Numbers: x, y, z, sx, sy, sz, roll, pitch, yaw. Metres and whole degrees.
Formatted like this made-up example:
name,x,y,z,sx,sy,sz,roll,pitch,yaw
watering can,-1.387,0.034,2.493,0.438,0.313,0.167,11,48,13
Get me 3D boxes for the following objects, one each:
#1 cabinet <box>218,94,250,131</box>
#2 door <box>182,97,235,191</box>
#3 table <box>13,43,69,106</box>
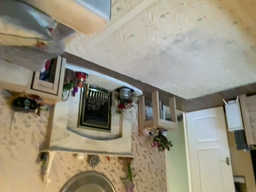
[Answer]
name,x,y,z,sx,sy,sz,roll,pitch,yaw
cabinet,1.840,0.300,3.690,0.420,0.540,0.310,18,154,-42
door,1.480,1.000,4.040,0.790,1.880,0.080,-16,155,39
table,-0.940,-0.210,2.310,0.400,0.500,0.370,16,155,-39
